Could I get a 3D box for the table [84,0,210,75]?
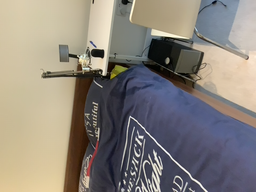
[{"bbox_3d":[0.150,-0.630,1.620,0.410,0.770,0.810,38,122,54],"label":"table"}]
